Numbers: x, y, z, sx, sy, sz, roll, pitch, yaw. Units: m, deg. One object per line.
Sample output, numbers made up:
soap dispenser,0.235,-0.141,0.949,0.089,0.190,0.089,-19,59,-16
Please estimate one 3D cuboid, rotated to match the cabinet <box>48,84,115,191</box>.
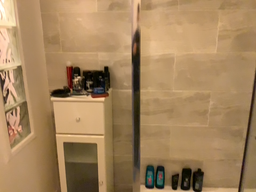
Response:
cabinet,-0.330,0.480,1.730,0.390,1.100,0.360,0,16,3
